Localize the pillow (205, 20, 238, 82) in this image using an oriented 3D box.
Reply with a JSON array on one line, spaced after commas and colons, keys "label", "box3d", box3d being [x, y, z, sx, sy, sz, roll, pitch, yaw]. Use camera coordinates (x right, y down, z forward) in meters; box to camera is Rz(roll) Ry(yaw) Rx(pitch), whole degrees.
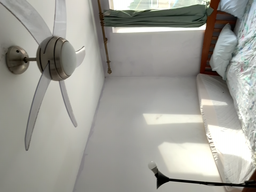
[{"label": "pillow", "box3d": [1.280, -0.620, 2.990, 0.440, 0.190, 0.730, -84, -9, -45]}]
